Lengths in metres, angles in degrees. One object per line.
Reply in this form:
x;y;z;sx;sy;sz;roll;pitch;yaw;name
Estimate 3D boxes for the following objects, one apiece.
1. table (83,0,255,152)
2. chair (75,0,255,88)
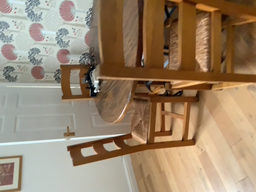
0.190;-0.410;1.710;1.170;0.800;1.190;114;147;-45;table
0.280;-0.280;1.180;0.580;1.040;0.450;-177;87;-68;chair
